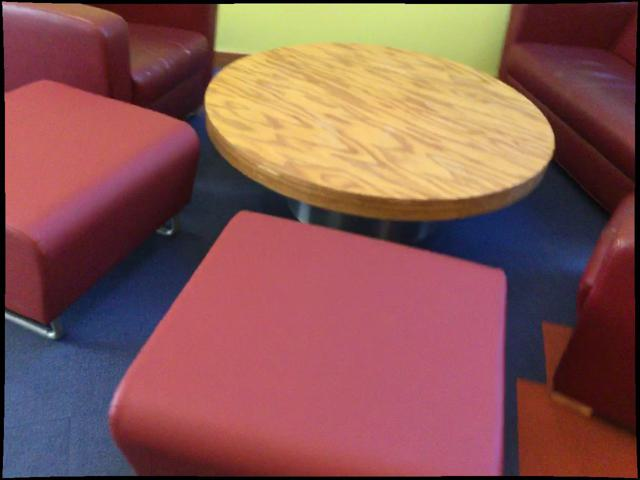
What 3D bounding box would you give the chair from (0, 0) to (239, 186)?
[{"bbox_3d":[-0.939,-0.891,2.350,0.889,0.820,0.860,16,42,13],"label":"chair"}]
